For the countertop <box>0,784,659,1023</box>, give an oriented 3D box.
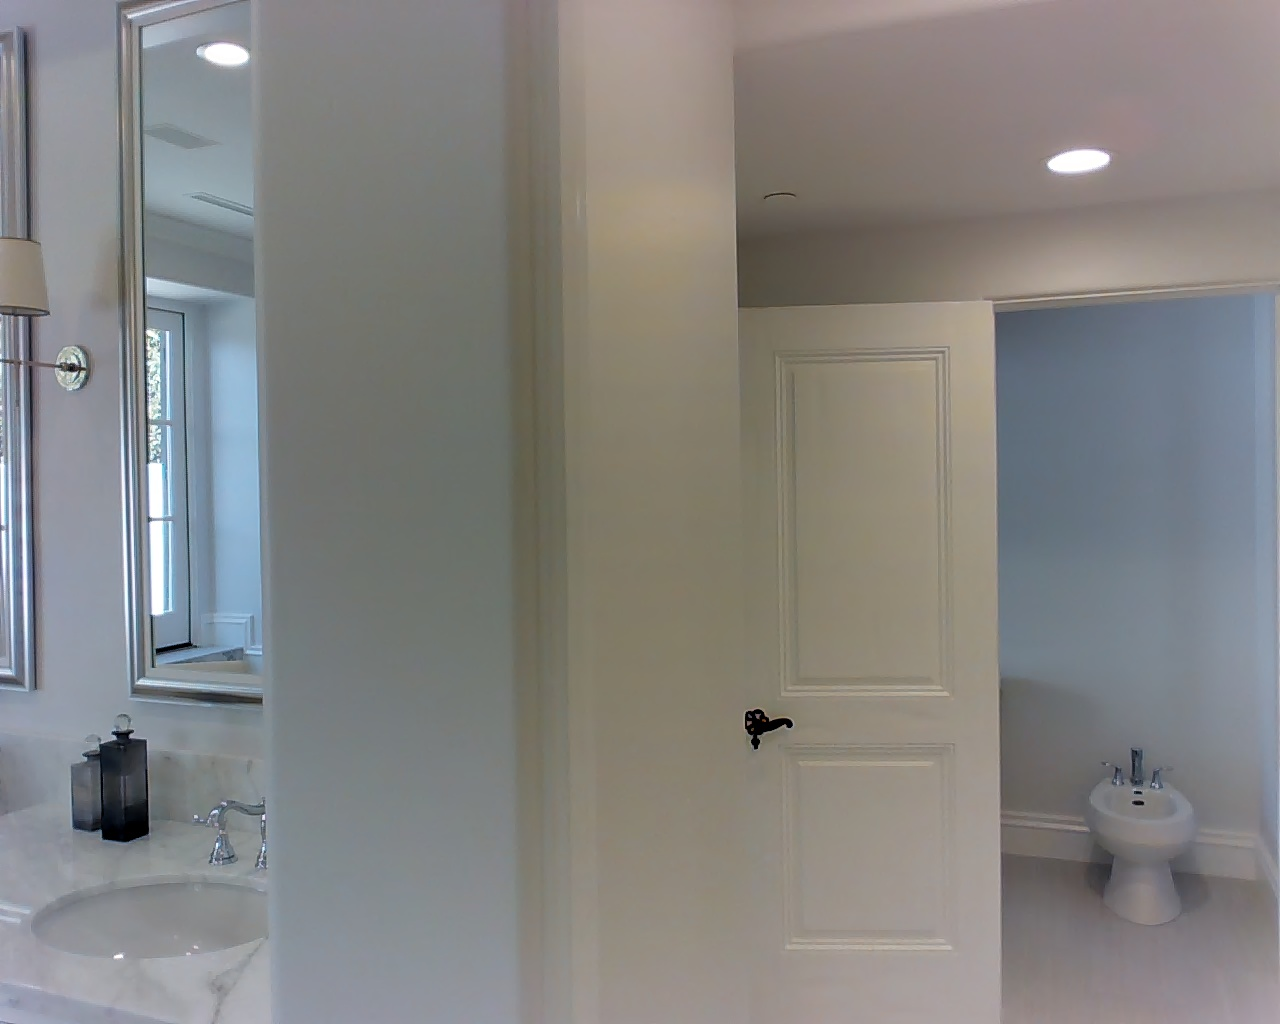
[{"bbox_3d":[-0.810,0.750,1.880,1.520,0.240,0.730,-1,0,23],"label":"countertop"}]
